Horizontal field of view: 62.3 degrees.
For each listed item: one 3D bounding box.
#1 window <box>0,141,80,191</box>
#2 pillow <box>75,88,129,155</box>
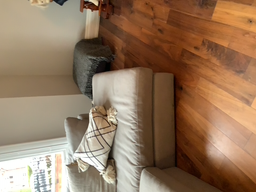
[{"bbox_3d":[-1.420,1.120,2.490,0.260,1.640,0.920,-20,75,62],"label":"window"},{"bbox_3d":[-0.250,0.240,2.030,0.220,0.410,0.460,-34,42,-2],"label":"pillow"}]
